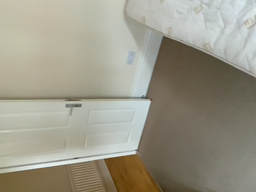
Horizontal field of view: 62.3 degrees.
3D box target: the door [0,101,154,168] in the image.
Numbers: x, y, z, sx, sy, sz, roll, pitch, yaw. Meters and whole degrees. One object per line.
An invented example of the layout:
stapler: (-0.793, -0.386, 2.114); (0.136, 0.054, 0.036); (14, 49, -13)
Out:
door: (-0.700, 0.400, 2.340); (0.140, 2.060, 0.690); (51, 133, 51)
